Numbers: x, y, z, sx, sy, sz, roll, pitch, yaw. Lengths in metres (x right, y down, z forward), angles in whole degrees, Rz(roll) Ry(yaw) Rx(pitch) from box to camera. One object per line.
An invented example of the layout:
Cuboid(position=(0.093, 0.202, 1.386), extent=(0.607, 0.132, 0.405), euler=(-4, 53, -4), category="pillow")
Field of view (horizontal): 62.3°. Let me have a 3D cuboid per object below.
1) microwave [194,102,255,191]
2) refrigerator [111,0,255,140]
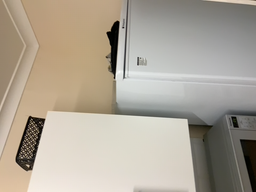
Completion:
Cuboid(position=(0.570, 0.350, 1.110), extent=(0.380, 0.260, 0.500), euler=(98, 175, -58), category="microwave")
Cuboid(position=(0.780, -0.140, 1.280), extent=(0.620, 1.720, 0.620), euler=(98, 174, -59), category="refrigerator")
